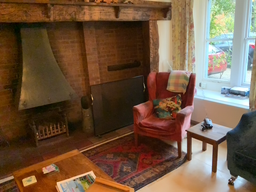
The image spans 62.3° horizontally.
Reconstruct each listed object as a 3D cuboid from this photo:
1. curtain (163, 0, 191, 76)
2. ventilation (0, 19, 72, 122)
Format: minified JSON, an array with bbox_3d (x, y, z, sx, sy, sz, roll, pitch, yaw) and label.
[{"bbox_3d":[0.810,-1.060,3.550,0.220,1.380,0.400,-14,19,-33],"label":"curtain"},{"bbox_3d":[-1.430,-0.410,2.990,0.910,1.210,0.670,-14,19,-32],"label":"ventilation"}]
